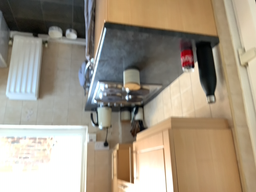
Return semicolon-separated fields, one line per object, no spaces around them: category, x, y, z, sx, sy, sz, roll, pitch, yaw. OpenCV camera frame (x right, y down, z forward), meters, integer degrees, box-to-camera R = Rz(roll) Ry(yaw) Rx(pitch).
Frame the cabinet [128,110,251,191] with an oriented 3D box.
cabinet;0.260;0.580;1.090;0.340;0.880;0.650;2;162;-14

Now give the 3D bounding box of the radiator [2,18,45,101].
radiator;-1.110;-0.400;2.310;0.320;0.900;0.130;3;162;-16

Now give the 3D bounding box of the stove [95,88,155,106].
stove;-0.050;0.020;1.960;0.470;0.020;0.440;2;162;-14
